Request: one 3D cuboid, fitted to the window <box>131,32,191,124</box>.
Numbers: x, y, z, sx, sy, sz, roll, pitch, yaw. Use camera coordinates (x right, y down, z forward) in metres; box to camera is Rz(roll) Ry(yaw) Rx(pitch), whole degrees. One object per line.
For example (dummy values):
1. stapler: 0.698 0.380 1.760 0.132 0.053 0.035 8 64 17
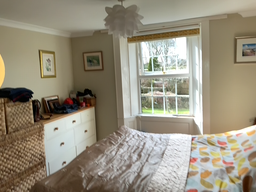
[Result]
1. window: 0.580 -0.290 3.760 0.970 1.490 0.240 0 8 24
